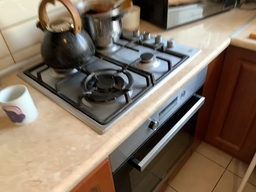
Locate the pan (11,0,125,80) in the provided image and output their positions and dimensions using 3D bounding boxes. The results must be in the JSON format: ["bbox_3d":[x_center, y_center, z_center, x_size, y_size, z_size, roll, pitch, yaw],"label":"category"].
[{"bbox_3d":[-0.220,-0.270,0.840,0.300,0.220,0.270,28,50,33],"label":"pan"}]

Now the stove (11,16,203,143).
[{"bbox_3d":[-0.080,-0.150,0.890,0.540,0.090,0.570,28,50,33],"label":"stove"}]
